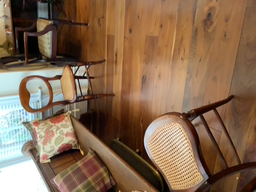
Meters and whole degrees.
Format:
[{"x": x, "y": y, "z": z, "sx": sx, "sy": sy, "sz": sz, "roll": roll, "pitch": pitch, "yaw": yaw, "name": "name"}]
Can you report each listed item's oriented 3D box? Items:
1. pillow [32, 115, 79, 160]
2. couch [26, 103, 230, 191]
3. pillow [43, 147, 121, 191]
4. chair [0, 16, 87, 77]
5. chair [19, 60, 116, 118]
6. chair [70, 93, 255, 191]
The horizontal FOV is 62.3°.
[{"x": -0.710, "y": 0.400, "z": 2.100, "sx": 0.150, "sy": 0.350, "sz": 0.330, "roll": -10, "pitch": 93, "yaw": 45, "name": "pillow"}, {"x": -0.230, "y": 0.610, "z": 1.810, "sx": 1.780, "sy": 0.770, "sz": 0.530, "roll": 22, "pitch": 116, "yaw": 50, "name": "couch"}, {"x": -0.360, "y": 0.650, "z": 1.690, "sx": 0.420, "sy": 0.420, "sz": 0.190, "roll": 17, "pitch": 111, "yaw": 33, "name": "pillow"}, {"x": -1.050, "y": -0.600, "z": 2.500, "sx": 0.510, "sy": 0.960, "sz": 0.530, "roll": 34, "pitch": 125, "yaw": 46, "name": "chair"}, {"x": -0.630, "y": -0.080, "z": 2.190, "sx": 0.520, "sy": 0.790, "sz": 0.350, "roll": -32, "pitch": 72, "yaw": 53, "name": "chair"}, {"x": 0.240, "y": 0.330, "z": 1.040, "sx": 0.360, "sy": 0.850, "sz": 0.470, "roll": -47, "pitch": 60, "yaw": 49, "name": "chair"}]
